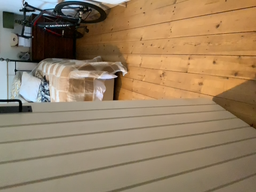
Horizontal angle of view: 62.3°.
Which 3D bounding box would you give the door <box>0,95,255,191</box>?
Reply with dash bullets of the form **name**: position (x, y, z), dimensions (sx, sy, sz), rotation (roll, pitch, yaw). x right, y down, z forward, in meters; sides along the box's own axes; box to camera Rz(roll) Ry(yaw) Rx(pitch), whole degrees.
- **door**: position (-0.020, 0.240, 0.660), dimensions (0.870, 1.900, 0.050), rotation (46, 129, 48)
